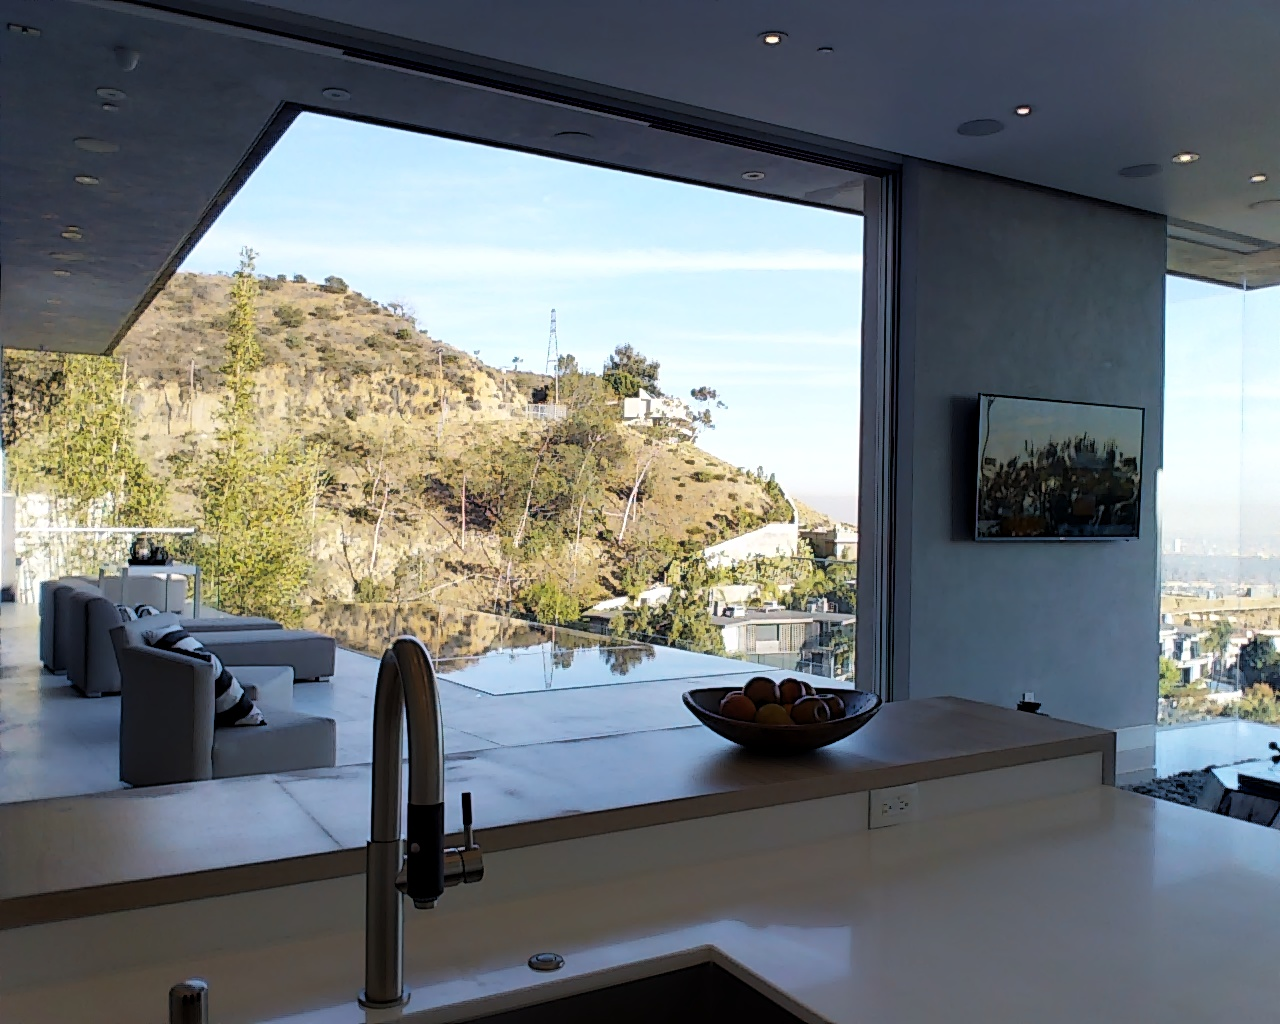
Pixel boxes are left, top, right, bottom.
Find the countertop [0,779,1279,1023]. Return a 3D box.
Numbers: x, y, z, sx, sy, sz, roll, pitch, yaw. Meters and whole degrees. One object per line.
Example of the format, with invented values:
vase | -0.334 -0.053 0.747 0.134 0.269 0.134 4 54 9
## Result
countertop | -0.220 0.610 1.160 3.400 0.040 0.830 0 1 -30
